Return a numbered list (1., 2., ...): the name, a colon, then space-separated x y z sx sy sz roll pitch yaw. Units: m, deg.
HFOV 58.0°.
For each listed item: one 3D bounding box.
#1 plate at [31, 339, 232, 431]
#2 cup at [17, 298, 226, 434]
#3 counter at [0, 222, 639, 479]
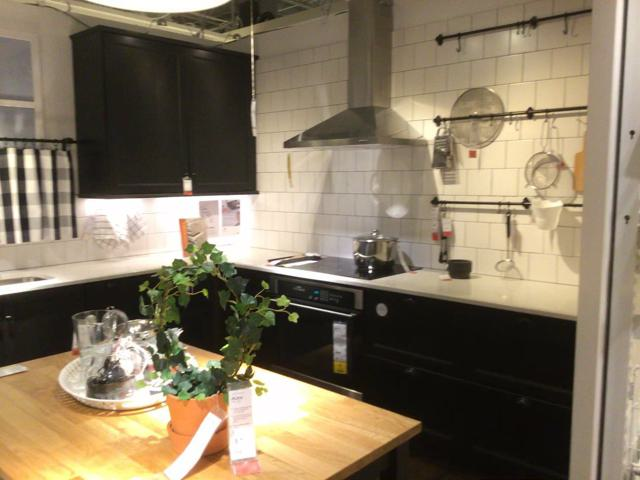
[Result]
1. plate: -0.570 0.410 1.730 0.510 0.050 0.370 6 9 43
2. cup: -0.600 0.340 1.730 0.530 0.200 0.380 6 9 43
3. counter: -0.930 0.280 2.240 3.010 0.260 3.890 6 9 43
